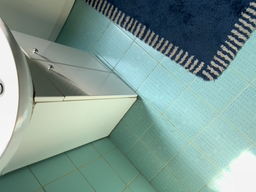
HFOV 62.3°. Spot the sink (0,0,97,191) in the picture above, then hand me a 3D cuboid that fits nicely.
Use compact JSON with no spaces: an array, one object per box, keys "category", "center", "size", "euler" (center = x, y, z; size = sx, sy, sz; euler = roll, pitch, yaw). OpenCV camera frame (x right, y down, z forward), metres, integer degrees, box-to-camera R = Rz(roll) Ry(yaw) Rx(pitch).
[{"category":"sink","center":[-0.460,-0.060,0.640],"size":[0.570,0.210,0.450],"euler":[43,108,17]}]
